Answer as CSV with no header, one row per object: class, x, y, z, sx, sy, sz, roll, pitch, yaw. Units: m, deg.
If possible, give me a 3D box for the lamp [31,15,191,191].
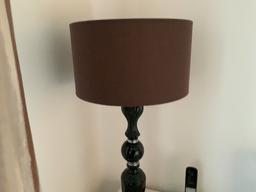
lamp,0.010,0.140,0.730,0.330,0.720,0.440,4,15,20
